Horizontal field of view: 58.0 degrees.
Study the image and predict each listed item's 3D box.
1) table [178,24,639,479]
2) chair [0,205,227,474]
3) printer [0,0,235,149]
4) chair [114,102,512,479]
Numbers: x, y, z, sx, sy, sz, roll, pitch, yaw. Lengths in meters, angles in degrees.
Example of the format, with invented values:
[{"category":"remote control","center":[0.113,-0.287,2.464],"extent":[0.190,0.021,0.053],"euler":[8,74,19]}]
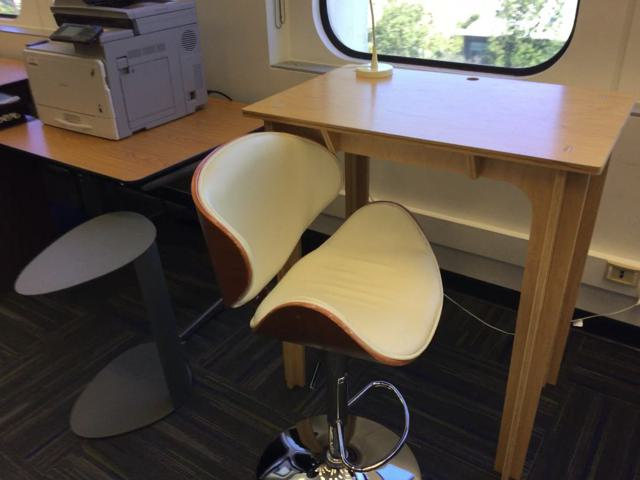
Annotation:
[{"category":"table","center":[0.320,0.010,1.830],"extent":[1.120,1.150,0.730],"euler":[12,32,38]},{"category":"chair","center":[-0.680,0.290,1.890],"extent":[0.420,0.630,0.470],"euler":[12,32,38]},{"category":"printer","center":[-0.850,-0.750,2.410],"extent":[0.590,0.520,0.670],"euler":[12,32,38]},{"category":"chair","center":[0.050,0.180,1.450],"extent":[0.630,0.890,0.620],"euler":[12,32,38]}]
